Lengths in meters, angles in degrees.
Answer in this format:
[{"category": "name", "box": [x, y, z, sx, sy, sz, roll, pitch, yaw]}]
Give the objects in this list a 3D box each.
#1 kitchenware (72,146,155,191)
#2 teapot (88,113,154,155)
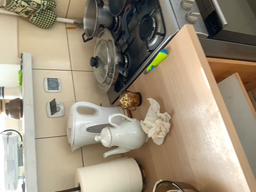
[{"category": "kitchenware", "box": [-0.070, 0.340, 0.860, 0.210, 0.250, 0.190, -48, 49, 52]}, {"category": "teapot", "box": [-0.030, 0.140, 0.790, 0.120, 0.200, 0.100, -53, 45, 50]}]
